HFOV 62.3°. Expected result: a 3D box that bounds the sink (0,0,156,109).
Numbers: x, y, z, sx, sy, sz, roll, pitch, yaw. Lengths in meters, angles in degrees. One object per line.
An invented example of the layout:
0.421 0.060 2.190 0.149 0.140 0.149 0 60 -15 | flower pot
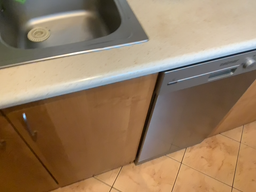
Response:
-0.190 -0.230 0.690 0.390 0.170 0.440 -14 57 -14 | sink

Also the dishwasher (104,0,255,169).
0.180 -0.120 1.080 0.440 0.850 0.610 -14 57 -14 | dishwasher
